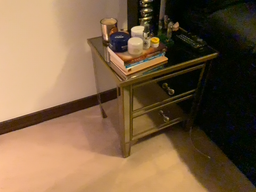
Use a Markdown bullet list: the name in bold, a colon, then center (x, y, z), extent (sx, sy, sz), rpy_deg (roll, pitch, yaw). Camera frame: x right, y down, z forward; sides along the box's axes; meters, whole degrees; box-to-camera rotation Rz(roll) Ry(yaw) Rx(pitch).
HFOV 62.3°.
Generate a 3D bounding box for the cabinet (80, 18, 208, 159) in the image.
- **cabinet**: center (0.050, -0.070, 1.260), extent (0.450, 0.530, 0.530), rpy_deg (-18, 45, -19)
